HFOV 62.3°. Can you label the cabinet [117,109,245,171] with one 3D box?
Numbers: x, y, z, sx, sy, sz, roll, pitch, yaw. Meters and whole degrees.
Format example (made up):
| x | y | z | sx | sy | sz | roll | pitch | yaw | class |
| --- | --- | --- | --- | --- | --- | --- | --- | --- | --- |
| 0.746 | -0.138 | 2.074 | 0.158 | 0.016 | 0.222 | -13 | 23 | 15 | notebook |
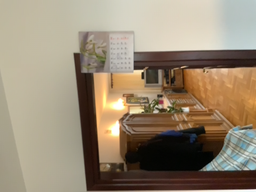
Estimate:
| x | y | z | sx | sy | sz | roll | pitch | yaw | class |
| --- | --- | --- | --- | --- | --- | --- | --- | --- | --- |
| 0.830 | 0.750 | 3.950 | 1.170 | 1.990 | 0.690 | -90 | 0 | -77 | cabinet |
